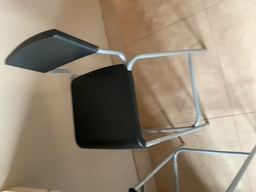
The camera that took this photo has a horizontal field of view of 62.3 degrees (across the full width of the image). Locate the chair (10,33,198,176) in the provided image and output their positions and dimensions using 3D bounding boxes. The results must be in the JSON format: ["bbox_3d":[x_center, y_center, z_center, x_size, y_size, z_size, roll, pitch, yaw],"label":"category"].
[{"bbox_3d":[-0.020,0.010,1.020,0.390,0.830,0.390,-8,90,37],"label":"chair"}]
